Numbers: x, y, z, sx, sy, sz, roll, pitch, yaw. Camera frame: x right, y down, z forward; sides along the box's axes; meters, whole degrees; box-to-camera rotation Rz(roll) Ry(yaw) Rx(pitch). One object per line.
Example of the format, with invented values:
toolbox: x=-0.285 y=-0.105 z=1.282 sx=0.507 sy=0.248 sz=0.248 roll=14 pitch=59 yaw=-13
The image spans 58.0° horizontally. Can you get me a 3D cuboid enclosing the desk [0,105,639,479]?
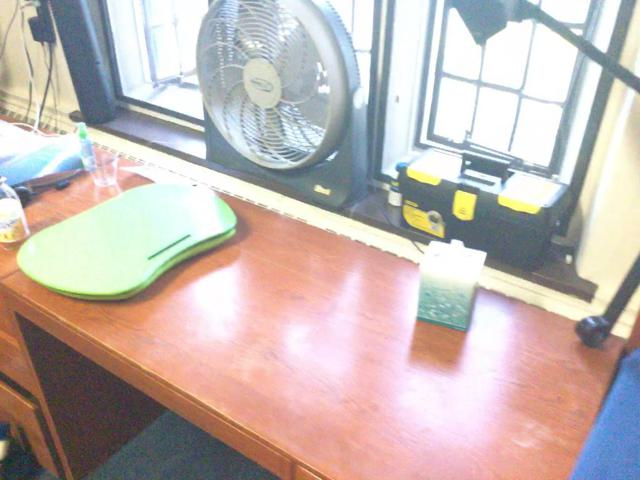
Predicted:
desk: x=-0.170 y=0.360 z=1.420 sx=1.660 sy=0.850 sz=0.820 roll=21 pitch=37 yaw=28

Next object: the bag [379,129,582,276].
bag: x=0.390 y=-0.110 z=1.430 sx=0.390 sy=0.170 sz=0.270 roll=21 pitch=37 yaw=28
